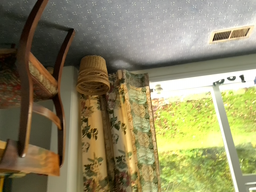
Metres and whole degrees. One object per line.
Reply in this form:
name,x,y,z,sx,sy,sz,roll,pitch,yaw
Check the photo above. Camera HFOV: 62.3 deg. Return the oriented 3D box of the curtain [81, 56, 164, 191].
curtain,-0.020,0.770,1.400,0.530,2.220,0.230,-7,157,4
